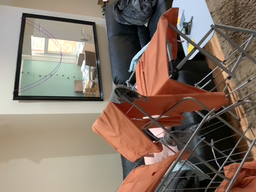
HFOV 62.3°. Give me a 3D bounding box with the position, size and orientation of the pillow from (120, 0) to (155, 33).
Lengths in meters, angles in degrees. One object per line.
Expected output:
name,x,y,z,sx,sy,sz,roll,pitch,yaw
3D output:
pillow,0.130,-1.090,2.690,0.130,0.290,0.570,55,145,17

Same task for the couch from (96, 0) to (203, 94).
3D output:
couch,0.150,-0.940,2.810,0.830,0.900,1.590,124,143,-56
